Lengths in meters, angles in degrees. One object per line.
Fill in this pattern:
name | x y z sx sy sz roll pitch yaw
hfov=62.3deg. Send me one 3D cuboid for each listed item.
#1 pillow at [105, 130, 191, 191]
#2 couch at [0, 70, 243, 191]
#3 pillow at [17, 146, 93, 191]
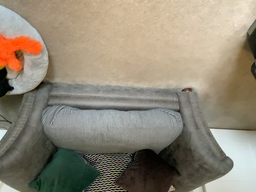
pillow | 0.170 0.720 1.870 0.510 0.570 0.330 30 141 7
couch | -0.160 0.440 1.950 1.680 0.750 1.100 2 148 -7
pillow | -0.570 0.670 1.740 0.520 0.440 0.250 1 148 -5
